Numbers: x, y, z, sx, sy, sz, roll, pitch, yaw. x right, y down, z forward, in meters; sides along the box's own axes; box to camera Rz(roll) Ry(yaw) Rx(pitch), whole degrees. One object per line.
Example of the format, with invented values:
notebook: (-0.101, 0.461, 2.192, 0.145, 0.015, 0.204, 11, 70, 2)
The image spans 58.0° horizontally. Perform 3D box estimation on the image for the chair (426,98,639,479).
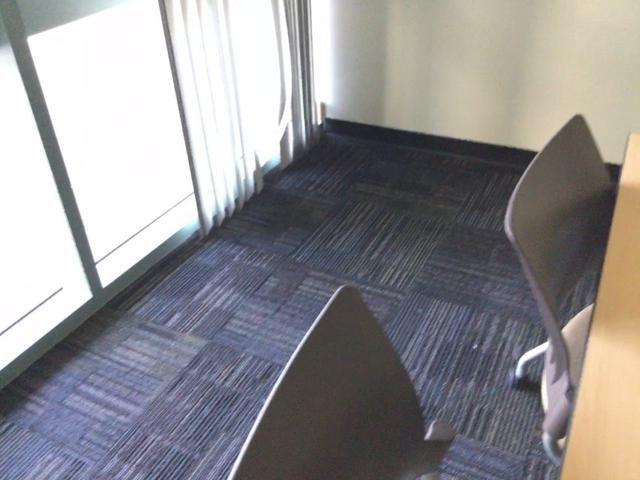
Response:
chair: (0.590, 0.270, 1.110, 0.560, 0.850, 0.690, 13, 34, 25)
